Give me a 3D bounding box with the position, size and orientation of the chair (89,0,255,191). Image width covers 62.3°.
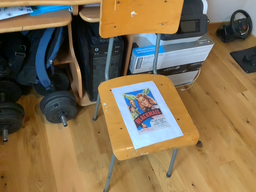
[{"bbox_3d":[0.060,0.030,0.980,0.390,0.820,0.520,-7,53,-17],"label":"chair"}]
